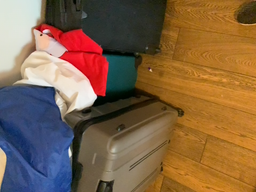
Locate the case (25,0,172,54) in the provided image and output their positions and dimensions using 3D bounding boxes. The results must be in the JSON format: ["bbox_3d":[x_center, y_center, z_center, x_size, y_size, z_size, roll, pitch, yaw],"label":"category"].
[{"bbox_3d":[-0.100,-0.470,1.120,0.410,0.660,0.390,17,105,29],"label":"case"}]
